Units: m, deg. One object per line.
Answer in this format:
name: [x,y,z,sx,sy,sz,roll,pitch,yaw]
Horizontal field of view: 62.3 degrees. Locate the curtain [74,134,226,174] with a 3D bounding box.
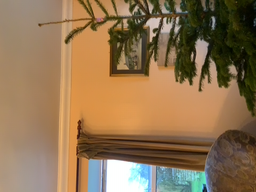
curtain: [0.190,0.620,2.330,0.110,1.630,0.270,22,-109,-77]
